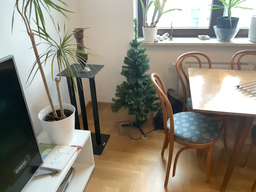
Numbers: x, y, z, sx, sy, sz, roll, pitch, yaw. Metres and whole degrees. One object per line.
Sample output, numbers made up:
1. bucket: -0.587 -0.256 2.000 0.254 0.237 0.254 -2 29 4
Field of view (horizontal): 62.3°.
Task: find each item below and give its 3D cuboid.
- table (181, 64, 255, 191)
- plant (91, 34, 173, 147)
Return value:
1. table: 1.370 0.260 1.760 1.730 0.740 0.840 4 28 11
2. plant: 0.080 -0.070 2.300 0.720 1.070 0.490 4 28 11
